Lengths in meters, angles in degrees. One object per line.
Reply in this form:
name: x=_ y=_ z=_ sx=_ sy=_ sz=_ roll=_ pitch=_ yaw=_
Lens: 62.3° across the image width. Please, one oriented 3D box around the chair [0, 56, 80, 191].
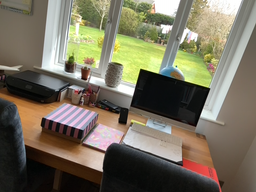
chair: x=-0.760 y=0.380 z=1.370 sx=0.450 sy=1.110 sz=0.680 roll=18 pitch=20 yaw=9
